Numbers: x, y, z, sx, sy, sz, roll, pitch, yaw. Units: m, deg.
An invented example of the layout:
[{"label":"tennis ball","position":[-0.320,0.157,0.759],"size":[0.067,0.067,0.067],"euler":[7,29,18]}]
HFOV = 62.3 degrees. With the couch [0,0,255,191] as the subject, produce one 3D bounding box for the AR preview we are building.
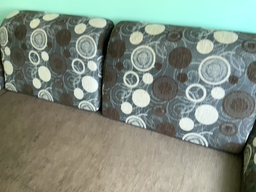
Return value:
[{"label":"couch","position":[-0.240,0.140,1.150],"size":[2.010,0.870,0.960],"euler":[14,43,21]}]
